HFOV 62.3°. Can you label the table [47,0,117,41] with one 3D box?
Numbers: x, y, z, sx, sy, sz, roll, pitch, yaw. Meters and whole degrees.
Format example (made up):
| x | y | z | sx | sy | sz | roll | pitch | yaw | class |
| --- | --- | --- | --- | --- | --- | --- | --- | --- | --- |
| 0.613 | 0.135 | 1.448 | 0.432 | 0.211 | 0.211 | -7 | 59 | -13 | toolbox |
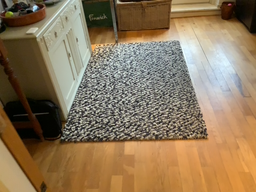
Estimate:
| x | y | z | sx | sy | sz | roll | pitch | yaw | class |
| --- | --- | --- | --- | --- | --- | --- | --- | --- | --- |
| -0.660 | -1.440 | 3.340 | 0.840 | 0.760 | 0.890 | -1 | 39 | 4 | table |
